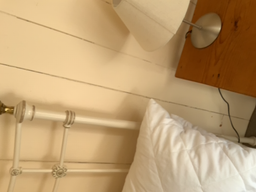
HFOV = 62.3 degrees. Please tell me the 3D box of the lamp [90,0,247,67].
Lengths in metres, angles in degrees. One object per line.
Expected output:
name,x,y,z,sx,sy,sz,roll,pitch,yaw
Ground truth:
lamp,0.120,-0.260,0.670,0.250,0.370,0.210,30,105,57
